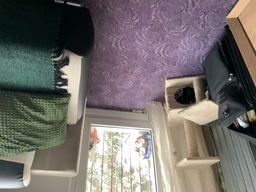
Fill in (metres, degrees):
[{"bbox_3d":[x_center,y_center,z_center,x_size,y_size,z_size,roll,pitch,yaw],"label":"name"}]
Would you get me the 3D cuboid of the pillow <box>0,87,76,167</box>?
[{"bbox_3d":[-0.580,0.180,1.250,0.480,0.400,0.150,7,-172,-10],"label":"pillow"}]
